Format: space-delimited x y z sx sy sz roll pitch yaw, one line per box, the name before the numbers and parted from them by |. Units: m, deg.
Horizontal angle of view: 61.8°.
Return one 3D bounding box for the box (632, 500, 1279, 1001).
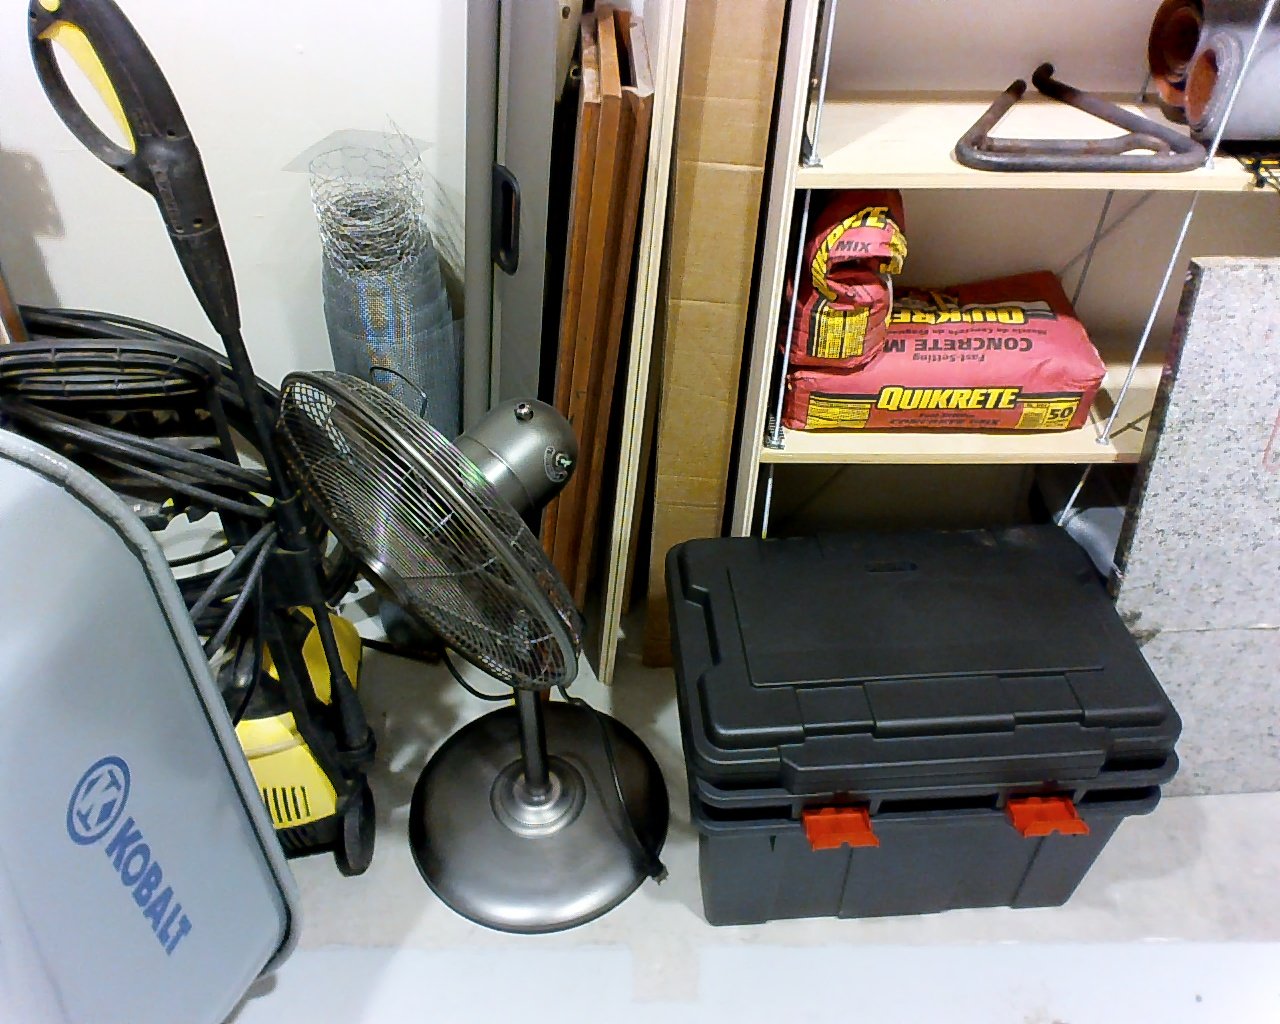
box | 0.360 0.320 1.500 0.730 0.430 0.520 -1 41 -1
